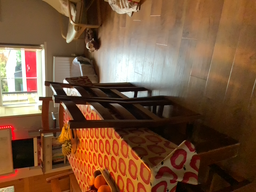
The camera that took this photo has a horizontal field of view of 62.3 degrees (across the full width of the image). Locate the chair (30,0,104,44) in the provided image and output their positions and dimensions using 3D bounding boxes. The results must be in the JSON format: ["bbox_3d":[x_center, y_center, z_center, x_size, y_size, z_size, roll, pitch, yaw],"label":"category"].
[{"bbox_3d":[-1.000,-1.400,3.410,0.540,0.980,0.880,-25,71,59],"label":"chair"}]

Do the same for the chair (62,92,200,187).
[{"bbox_3d":[0.020,0.260,1.670,0.450,0.950,0.450,29,118,57],"label":"chair"}]
